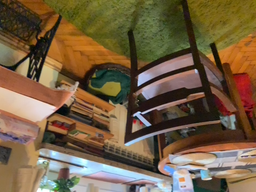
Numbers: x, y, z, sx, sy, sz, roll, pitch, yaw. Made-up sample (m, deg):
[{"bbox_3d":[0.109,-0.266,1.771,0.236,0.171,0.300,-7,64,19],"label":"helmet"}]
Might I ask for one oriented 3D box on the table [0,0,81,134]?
[{"bbox_3d":[-0.820,-0.300,1.270,0.840,0.730,0.490,28,138,-36],"label":"table"}]
